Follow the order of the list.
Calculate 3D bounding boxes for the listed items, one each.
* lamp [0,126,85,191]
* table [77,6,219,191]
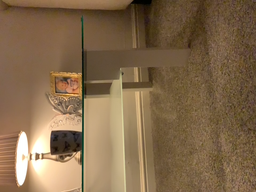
[{"bbox_3d":[-0.470,0.310,1.040,0.220,0.500,0.290,137,132,-75],"label":"lamp"},{"bbox_3d":[0.000,0.330,0.900,0.690,0.390,1.090,134,134,-74],"label":"table"}]
